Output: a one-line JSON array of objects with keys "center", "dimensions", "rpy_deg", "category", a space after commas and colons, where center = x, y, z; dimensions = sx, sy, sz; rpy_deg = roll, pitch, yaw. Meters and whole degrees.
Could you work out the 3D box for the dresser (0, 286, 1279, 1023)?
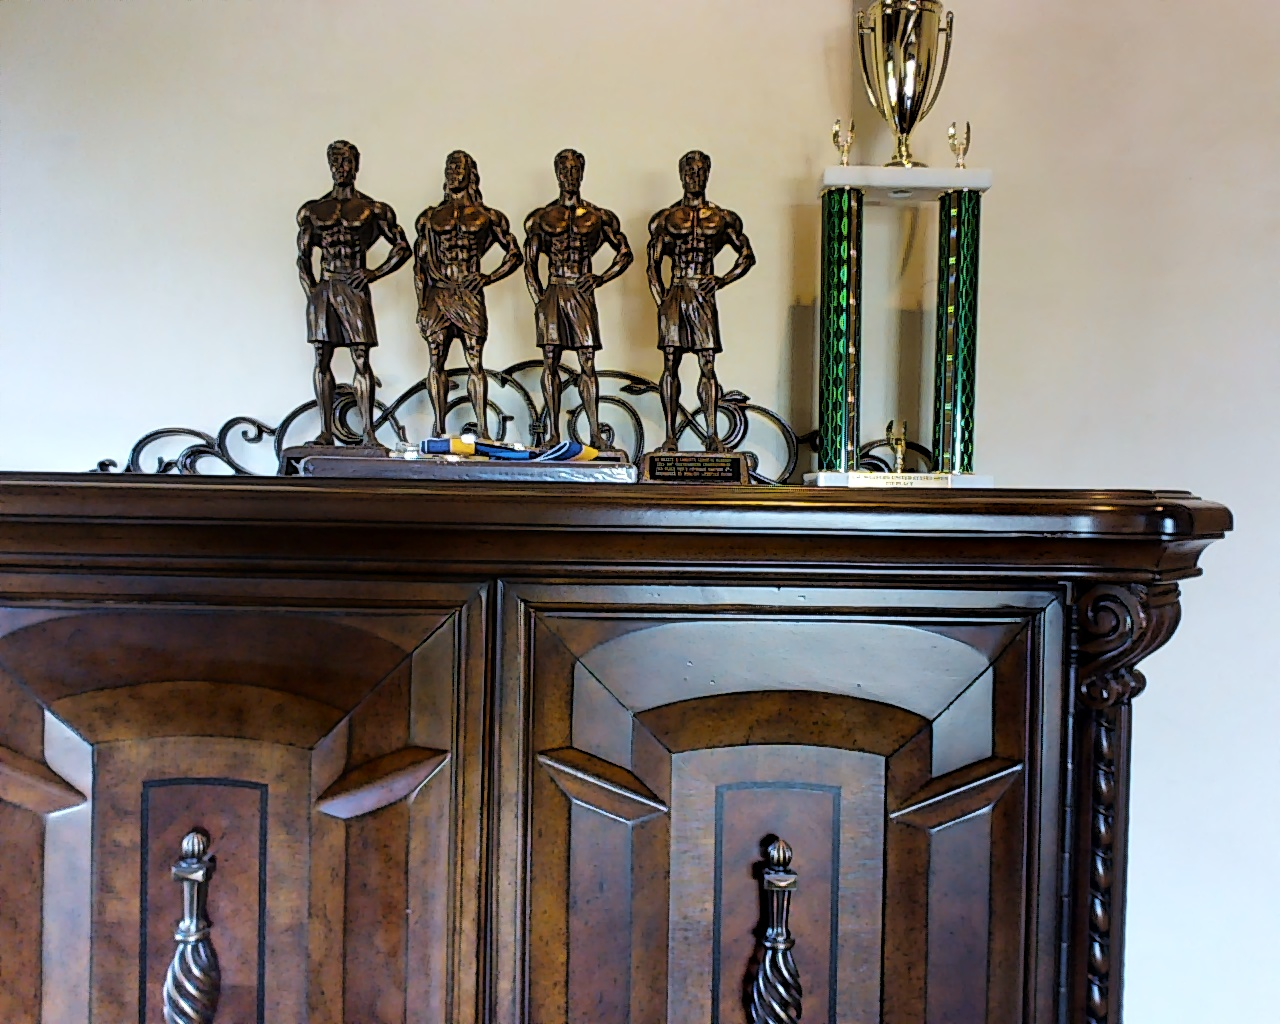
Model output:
[{"center": [-0.110, 0.720, 1.000], "dimensions": [1.170, 1.740, 0.550], "rpy_deg": [0, 0, -1], "category": "dresser"}]
